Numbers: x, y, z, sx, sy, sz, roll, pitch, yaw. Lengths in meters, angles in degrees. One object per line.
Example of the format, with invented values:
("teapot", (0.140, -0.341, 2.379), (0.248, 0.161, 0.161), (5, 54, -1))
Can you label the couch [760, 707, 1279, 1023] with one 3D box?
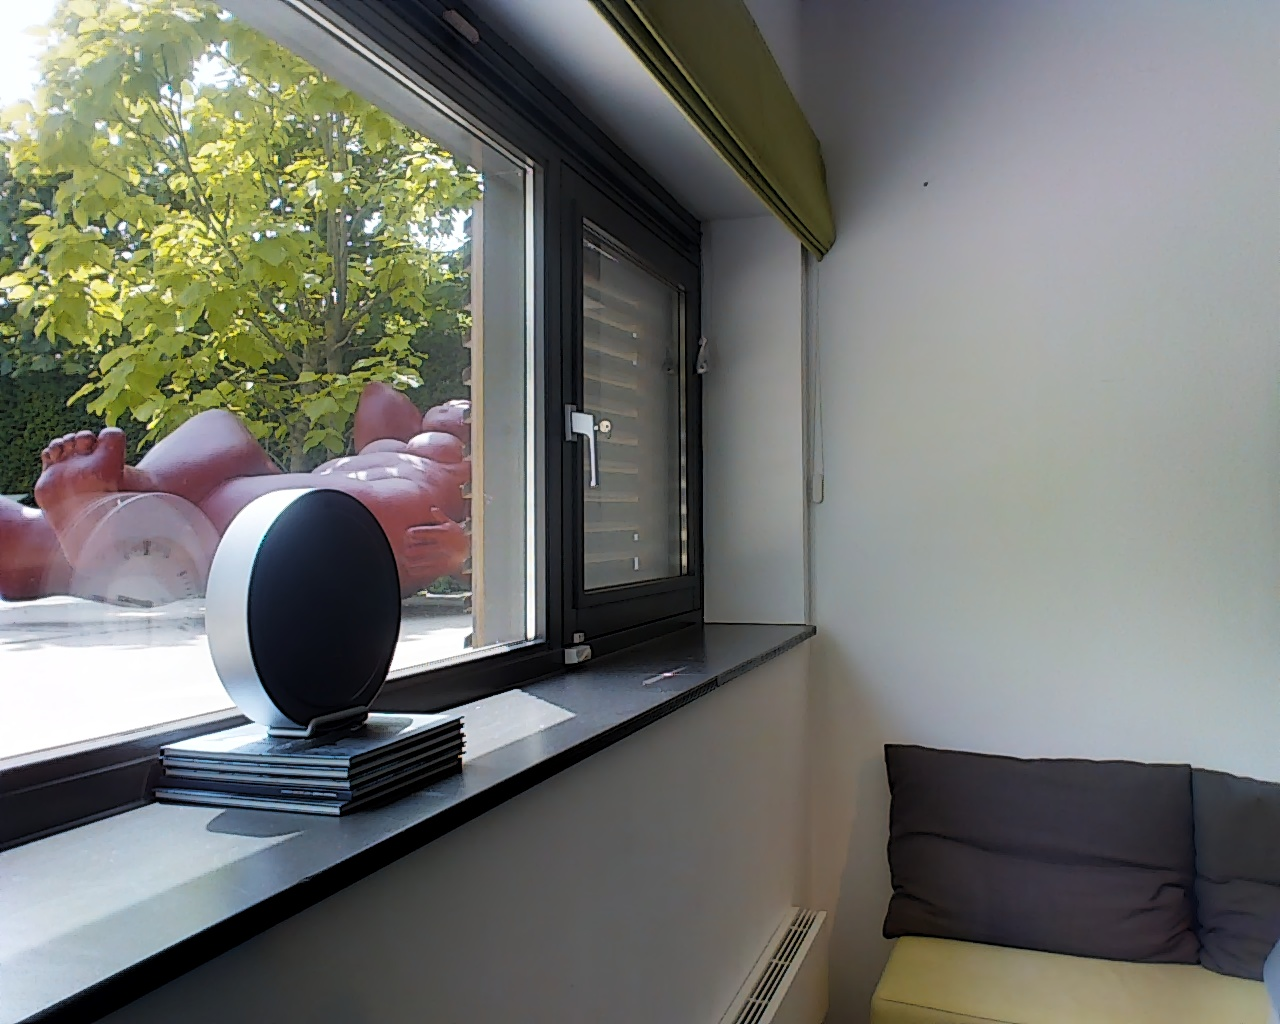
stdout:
("couch", (1.640, 0.960, 2.060), (2.730, 0.910, 0.630), (0, -1, 21))
